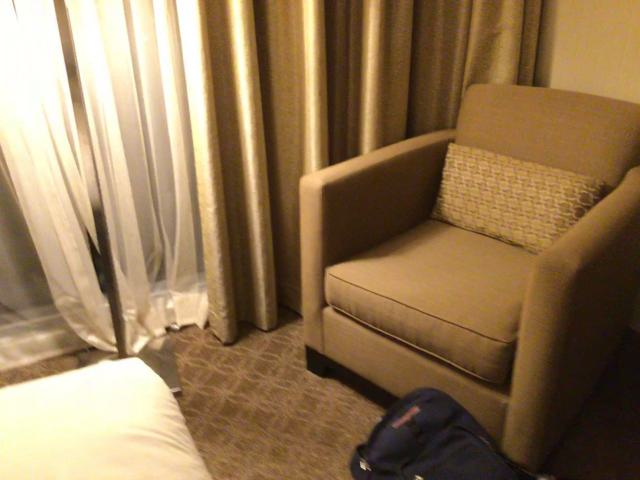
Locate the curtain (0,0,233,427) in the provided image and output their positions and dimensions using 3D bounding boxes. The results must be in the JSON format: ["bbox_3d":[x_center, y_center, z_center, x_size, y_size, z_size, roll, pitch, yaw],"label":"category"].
[{"bbox_3d":[-0.770,-0.110,1.820,0.800,1.250,0.320,-12,26,-21],"label":"curtain"}]

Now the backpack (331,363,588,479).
[{"bbox_3d":[0.300,0.560,1.380,0.390,0.220,0.450,-12,26,-20],"label":"backpack"}]
